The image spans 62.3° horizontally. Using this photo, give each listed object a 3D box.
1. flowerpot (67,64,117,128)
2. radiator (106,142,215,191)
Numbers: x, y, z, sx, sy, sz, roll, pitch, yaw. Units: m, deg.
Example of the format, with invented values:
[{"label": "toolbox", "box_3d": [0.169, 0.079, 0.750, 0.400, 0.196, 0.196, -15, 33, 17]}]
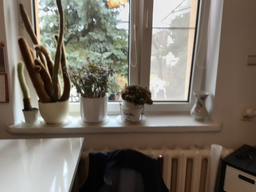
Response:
[{"label": "flowerpot", "box_3d": [-0.260, -0.010, 1.600, 0.340, 0.450, 0.210, 0, 12, -6]}, {"label": "radiator", "box_3d": [0.220, 0.730, 1.620, 0.750, 0.710, 0.180, 1, 11, 2]}]
